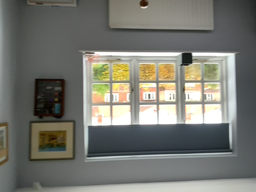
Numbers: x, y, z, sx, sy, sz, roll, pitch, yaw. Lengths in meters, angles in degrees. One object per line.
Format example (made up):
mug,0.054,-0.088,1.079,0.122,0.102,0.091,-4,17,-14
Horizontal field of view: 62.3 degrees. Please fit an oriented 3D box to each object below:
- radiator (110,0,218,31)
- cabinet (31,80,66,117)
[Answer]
radiator,0.420,-1.090,2.480,1.260,0.590,0.090,0,178,-6
cabinet,-0.880,0.030,2.360,0.360,0.410,0.060,0,178,-3
